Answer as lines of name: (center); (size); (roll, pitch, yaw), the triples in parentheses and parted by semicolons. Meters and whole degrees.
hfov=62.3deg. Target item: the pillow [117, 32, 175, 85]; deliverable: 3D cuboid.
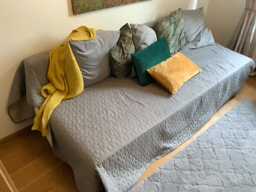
pillow: (0.170, -0.350, 1.850); (0.200, 0.220, 0.580); (26, 43, 29)

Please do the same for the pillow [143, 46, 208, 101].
pillow: (0.420, -0.220, 1.830); (0.310, 0.170, 0.570); (24, 42, 27)

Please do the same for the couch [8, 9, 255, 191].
couch: (0.270, -0.170, 1.930); (2.080, 0.680, 0.950); (-27, 46, -33)
